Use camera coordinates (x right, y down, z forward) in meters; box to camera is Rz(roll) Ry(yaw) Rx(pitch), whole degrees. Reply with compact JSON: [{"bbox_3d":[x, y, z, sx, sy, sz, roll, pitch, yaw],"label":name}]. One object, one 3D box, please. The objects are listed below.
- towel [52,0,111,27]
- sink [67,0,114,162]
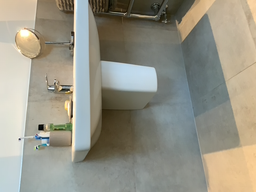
[{"bbox_3d":[-0.280,-0.650,1.290,0.480,0.340,0.160,127,141,-66],"label":"towel"},{"bbox_3d":[-0.220,-0.150,1.090,0.470,0.160,0.890,124,144,-64],"label":"sink"}]
